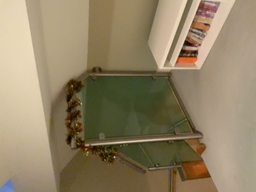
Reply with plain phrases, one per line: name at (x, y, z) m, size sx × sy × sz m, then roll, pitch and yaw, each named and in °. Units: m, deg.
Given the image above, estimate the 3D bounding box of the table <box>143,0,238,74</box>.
table at (0.500, -0.790, 1.570) m, size 1.240 × 0.400 × 0.470 m, roll 105°, pitch 158°, yaw -45°
